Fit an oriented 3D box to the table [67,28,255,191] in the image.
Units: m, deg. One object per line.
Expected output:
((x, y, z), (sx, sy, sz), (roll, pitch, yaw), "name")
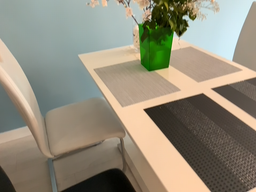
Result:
((0.260, 0.210, 1.330), (0.810, 0.780, 1.650), (-15, 34, -20), "table")

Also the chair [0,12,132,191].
((-0.350, 0.090, 1.330), (0.580, 1.030, 0.470), (-14, 34, -18), "chair")

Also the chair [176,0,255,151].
((0.790, -0.180, 1.650), (0.580, 1.000, 0.470), (-14, 34, -18), "chair")
